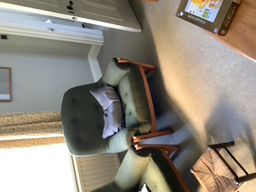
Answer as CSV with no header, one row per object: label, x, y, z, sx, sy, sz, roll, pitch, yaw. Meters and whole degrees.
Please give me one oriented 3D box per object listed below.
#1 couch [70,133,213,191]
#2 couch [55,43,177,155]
couch,0.090,0.940,1.720,0.850,0.830,0.840,61,139,39
couch,-0.200,0.090,2.190,0.890,0.830,0.790,-36,60,54
